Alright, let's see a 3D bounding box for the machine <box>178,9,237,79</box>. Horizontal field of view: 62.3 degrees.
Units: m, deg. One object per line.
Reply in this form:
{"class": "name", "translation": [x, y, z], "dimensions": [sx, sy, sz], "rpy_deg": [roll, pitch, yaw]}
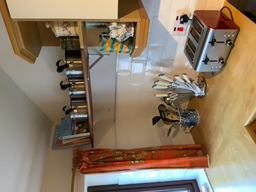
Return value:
{"class": "machine", "translation": [0.450, -0.310, 1.270], "dimensions": [0.270, 0.160, 0.310], "rpy_deg": [-99, 11, -45]}

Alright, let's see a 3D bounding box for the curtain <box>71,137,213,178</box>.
{"class": "curtain", "translation": [0.100, 0.430, 1.520], "dimensions": [0.210, 0.960, 0.090], "rpy_deg": [-100, 11, -47]}

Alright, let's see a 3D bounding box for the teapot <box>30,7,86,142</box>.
{"class": "teapot", "translation": [-0.390, -0.070, 1.340], "dimensions": [0.240, 0.180, 0.880], "rpy_deg": [-99, 11, -46]}
